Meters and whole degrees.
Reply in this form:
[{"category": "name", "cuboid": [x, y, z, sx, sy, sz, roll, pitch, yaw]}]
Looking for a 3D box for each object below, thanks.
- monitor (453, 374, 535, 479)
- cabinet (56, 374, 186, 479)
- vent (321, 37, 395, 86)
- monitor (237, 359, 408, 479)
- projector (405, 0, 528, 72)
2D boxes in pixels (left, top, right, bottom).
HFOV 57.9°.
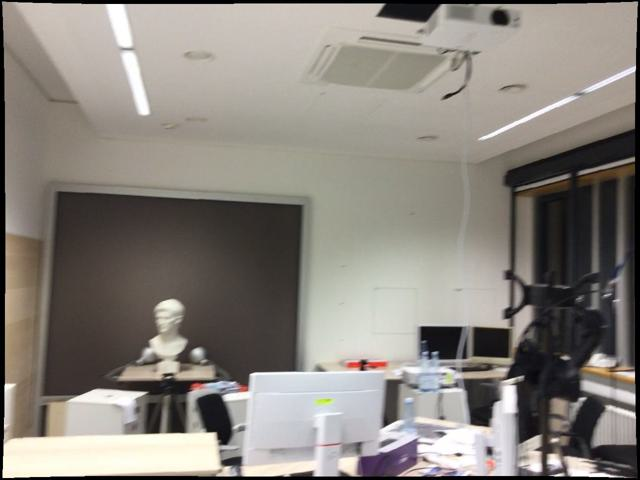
[{"category": "monitor", "cuboid": [0.739, 0.841, 2.410, 0.270, 0.430, 0.560, 0, -1, 23]}, {"category": "cabinet", "cuboid": [-1.359, 1.411, 4.010, 0.679, 0.821, 0.530, 0, -1, 8]}, {"category": "vent", "cuboid": [0.210, -1.051, 3.450, 0.300, 0.080, 0.600, 1, -1, -11]}, {"category": "monitor", "cuboid": [0.010, 0.811, 2.460, 0.679, 0.531, 0.250, 1, -1, -18]}, {"category": "projector", "cuboid": [0.599, -0.971, 2.440, 0.360, 0.370, 0.430, 1, -1, -10]}]
